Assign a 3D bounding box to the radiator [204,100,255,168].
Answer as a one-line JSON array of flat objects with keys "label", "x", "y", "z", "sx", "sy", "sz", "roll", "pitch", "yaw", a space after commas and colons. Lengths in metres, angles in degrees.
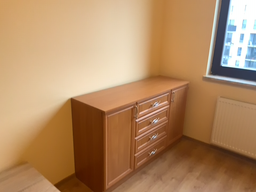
[{"label": "radiator", "x": 1.450, "y": 0.480, "z": 2.300, "sx": 1.120, "sy": 0.610, "sz": 0.160, "roll": 17, "pitch": 24, "yaw": 38}]
